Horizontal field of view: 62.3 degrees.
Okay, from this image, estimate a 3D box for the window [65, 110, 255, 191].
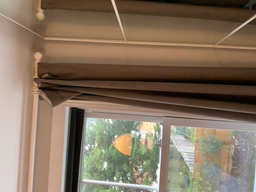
[{"bbox_3d":[0.260,0.720,1.560,0.030,1.470,1.130,9,-95,-86],"label":"window"}]
